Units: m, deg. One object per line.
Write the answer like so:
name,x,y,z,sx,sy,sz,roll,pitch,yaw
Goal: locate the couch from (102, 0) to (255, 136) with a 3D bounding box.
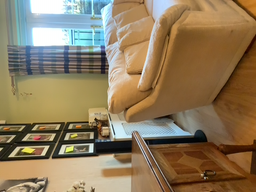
couch,0.220,-0.820,2.200,1.060,0.850,2.170,99,166,-45
